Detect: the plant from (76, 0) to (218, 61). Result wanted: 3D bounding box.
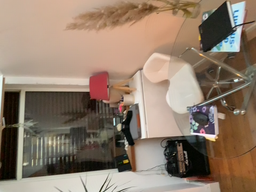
[{"bbox_3d":[0.060,-0.420,1.220,0.490,0.660,0.230,145,122,-67],"label":"plant"}]

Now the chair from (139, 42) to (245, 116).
[{"bbox_3d":[0.570,-0.130,2.020,0.450,0.770,0.530,137,130,-65],"label":"chair"}]

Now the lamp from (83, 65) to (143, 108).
[{"bbox_3d":[-0.200,-0.080,2.430,0.550,0.550,0.330,143,125,-67],"label":"lamp"}]
